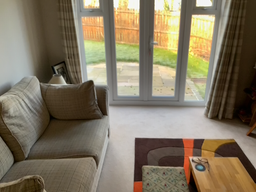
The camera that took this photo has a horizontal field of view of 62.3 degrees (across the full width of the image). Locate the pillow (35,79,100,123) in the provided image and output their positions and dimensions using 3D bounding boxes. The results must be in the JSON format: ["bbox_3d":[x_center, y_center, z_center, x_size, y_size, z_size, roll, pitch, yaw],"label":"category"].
[{"bbox_3d":[-0.640,0.050,2.290,0.580,0.400,0.170,5,39,14],"label":"pillow"}]
